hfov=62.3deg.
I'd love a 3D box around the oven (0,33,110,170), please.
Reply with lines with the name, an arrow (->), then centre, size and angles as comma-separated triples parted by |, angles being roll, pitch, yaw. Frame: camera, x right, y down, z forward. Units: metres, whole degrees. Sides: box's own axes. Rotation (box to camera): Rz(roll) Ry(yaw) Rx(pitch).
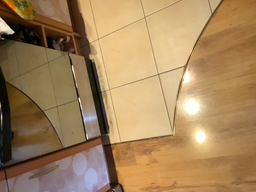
oven -> -0.580, 0.070, 1.180 | 0.610, 0.650, 0.510 | -16, 84, 27
